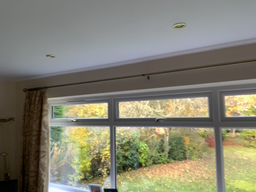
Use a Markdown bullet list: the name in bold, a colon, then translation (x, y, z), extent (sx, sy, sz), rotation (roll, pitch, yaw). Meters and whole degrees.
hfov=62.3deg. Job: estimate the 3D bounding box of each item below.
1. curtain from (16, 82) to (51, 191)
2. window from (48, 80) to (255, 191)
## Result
- **curtain**: translation (-1.370, 0.640, 3.080), extent (0.510, 1.630, 0.180), rotation (-3, -5, 31)
- **window**: translation (0.250, 0.610, 2.450), extent (3.520, 1.400, 0.040), rotation (-4, -5, 32)
